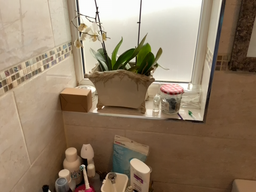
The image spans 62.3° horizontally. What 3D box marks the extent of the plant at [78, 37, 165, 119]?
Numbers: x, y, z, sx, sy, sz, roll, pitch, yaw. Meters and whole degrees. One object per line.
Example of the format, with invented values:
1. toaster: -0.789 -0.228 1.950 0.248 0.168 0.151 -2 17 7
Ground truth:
1. plant: -0.010 -0.080 0.800 0.270 0.240 0.190 5 25 12
